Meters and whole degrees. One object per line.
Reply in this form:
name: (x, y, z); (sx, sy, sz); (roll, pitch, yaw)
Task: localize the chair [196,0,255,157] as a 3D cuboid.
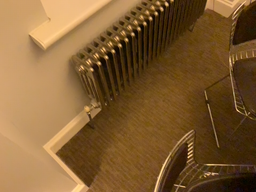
chair: (0.740, -0.080, 1.180); (0.380, 0.760, 0.590); (-8, 60, -2)
